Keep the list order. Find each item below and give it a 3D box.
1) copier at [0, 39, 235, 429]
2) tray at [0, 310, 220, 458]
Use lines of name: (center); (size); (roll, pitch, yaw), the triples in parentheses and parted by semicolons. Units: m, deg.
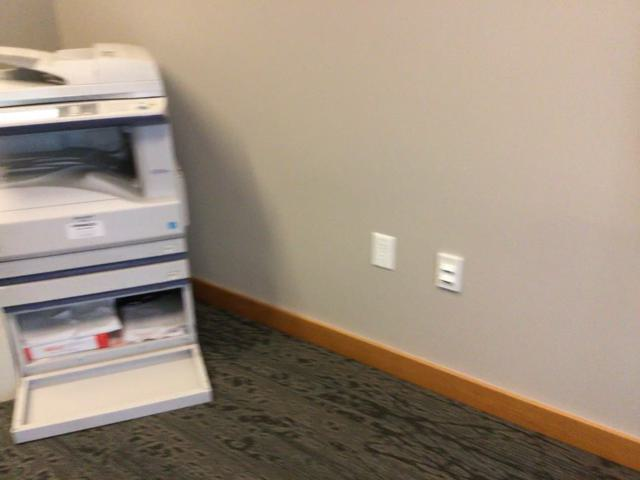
copier: (-0.760, -0.090, 1.970); (0.730, 1.070, 0.680); (-9, 24, -19)
tray: (-0.720, 0.460, 2.000); (0.660, 0.070, 0.570); (-7, 24, -16)
